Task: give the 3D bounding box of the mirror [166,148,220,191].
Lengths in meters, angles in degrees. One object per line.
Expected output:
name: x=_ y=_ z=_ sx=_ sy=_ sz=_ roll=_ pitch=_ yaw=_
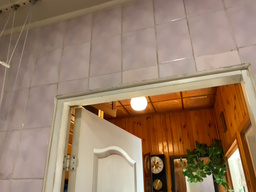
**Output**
mirror: x=0.750 y=1.250 z=2.330 sx=0.550 sy=1.290 sz=0.050 roll=-9 pitch=-26 yaw=16
